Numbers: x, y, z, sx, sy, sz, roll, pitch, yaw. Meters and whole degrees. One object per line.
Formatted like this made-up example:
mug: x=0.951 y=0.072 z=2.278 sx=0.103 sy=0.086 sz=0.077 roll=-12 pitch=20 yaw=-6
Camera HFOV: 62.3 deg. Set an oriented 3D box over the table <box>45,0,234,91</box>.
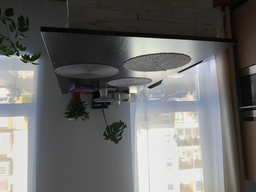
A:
table: x=-0.110 y=-0.660 z=1.620 sx=0.770 sy=1.040 sz=1.530 roll=0 pitch=174 yaw=-14
